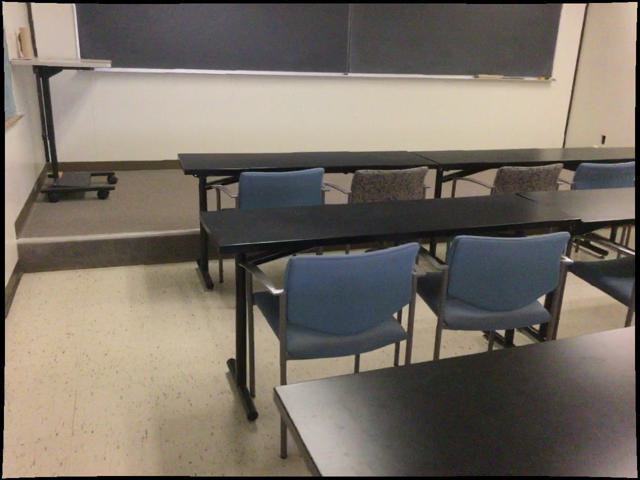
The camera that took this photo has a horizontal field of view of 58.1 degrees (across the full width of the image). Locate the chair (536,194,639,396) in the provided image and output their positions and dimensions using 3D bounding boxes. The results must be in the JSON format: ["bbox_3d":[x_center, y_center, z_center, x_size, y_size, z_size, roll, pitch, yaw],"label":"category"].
[{"bbox_3d":[1.456,0.211,2.650,0.539,0.712,0.580,-4,19,-17],"label":"chair"}]

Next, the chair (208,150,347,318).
[{"bbox_3d":[-0.269,-0.070,3.330,0.648,0.792,0.610,-4,19,-17],"label":"chair"}]

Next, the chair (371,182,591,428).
[{"bbox_3d":[0.608,0.221,2.390,0.569,0.792,0.590,-4,19,-17],"label":"chair"}]

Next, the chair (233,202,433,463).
[{"bbox_3d":[0.010,0.301,2.190,0.549,0.742,0.560,-5,19,-21],"label":"chair"}]

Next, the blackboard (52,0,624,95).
[{"bbox_3d":[0.469,-2.146,5.340,5.377,1.473,0.470,-4,19,-18],"label":"blackboard"}]
